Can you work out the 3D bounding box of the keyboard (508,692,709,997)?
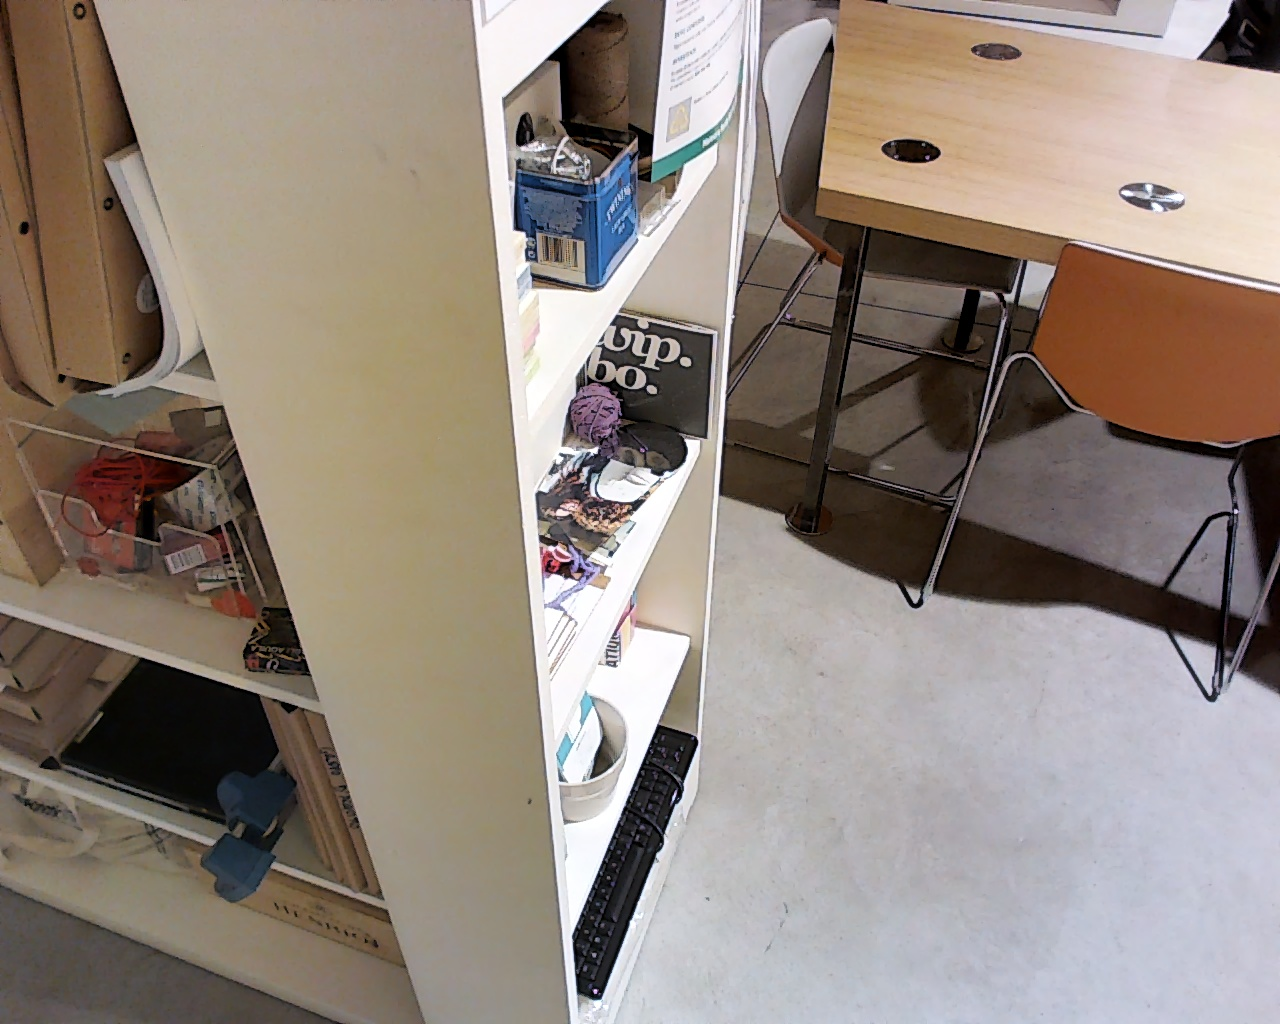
[{"bbox_3d":[-0.030,0.420,1.420,0.140,0.050,0.390,13,45,13],"label":"keyboard"}]
